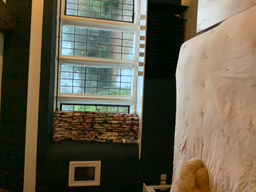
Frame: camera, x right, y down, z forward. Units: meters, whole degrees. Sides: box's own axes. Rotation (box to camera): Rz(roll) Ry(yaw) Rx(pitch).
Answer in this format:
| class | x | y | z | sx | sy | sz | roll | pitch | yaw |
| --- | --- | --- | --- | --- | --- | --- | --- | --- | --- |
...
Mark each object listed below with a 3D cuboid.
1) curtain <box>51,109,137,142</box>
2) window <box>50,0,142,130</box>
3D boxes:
| class | x | y | z | sx | sy | sz | roll | pitch | yaw |
| --- | --- | --- | --- | --- | --- | --- | --- | --- | --- |
| curtain | -0.500 | 0.460 | 3.280 | 0.180 | 1.260 | 0.450 | -169 | 82 | -78 |
| window | -0.500 | -0.860 | 3.570 | 0.210 | 1.380 | 2.790 | 174 | 99 | -78 |
